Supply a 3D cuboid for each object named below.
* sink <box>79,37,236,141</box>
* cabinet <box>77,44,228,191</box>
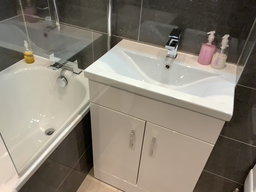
[{"bbox_3d":[0.150,-0.080,1.010,0.630,0.150,0.390,18,40,16],"label":"sink"},{"bbox_3d":[0.110,0.210,1.240,0.620,0.800,0.390,18,40,16],"label":"cabinet"}]
